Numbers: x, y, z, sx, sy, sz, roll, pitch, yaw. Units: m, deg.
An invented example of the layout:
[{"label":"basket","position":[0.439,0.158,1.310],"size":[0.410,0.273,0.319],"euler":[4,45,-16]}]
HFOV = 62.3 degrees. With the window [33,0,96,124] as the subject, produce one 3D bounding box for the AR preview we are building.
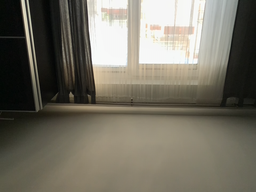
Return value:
[{"label":"window","position":[-0.560,-1.010,1.810],"size":[0.460,2.670,0.230],"euler":[2,-159,1]}]
